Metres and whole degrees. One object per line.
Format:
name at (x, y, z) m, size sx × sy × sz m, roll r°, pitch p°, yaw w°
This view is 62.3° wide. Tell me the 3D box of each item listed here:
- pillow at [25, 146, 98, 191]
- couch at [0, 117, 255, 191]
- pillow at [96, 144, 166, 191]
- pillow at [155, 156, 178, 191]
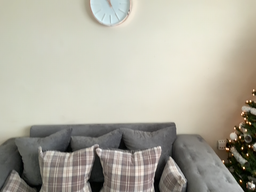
pillow at (-0.440, 0.590, 1.480) m, size 0.430 × 0.410 × 0.230 m, roll -2°, pitch 2°, yaw -2°
couch at (-0.230, 0.720, 1.740) m, size 2.000 × 0.740 × 0.940 m, roll -1°, pitch 16°, yaw -1°
pillow at (0.020, 0.580, 1.520) m, size 0.460 × 0.420 × 0.210 m, roll -3°, pitch -9°, yaw -1°
pillow at (0.290, 0.650, 1.620) m, size 0.120 × 0.310 × 0.310 m, roll -3°, pitch -3°, yaw 1°
